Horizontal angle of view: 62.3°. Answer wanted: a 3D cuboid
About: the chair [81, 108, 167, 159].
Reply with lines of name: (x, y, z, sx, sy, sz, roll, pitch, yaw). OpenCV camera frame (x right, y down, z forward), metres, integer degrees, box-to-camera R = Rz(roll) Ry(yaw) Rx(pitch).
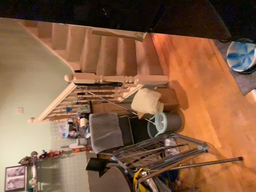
chair: (-0.070, 0.470, 2.670, 0.490, 0.910, 0.440, 129, 135, -58)

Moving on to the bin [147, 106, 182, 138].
bin: (0.410, 0.300, 2.420, 0.320, 0.210, 0.260, 125, 138, -55)
